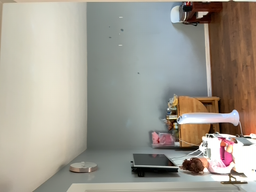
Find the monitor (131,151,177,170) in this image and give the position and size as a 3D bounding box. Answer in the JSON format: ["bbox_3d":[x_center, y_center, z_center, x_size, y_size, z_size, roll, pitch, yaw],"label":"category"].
[{"bbox_3d":[0.250,0.710,2.380,0.720,0.420,0.040,99,168,-85],"label":"monitor"}]
